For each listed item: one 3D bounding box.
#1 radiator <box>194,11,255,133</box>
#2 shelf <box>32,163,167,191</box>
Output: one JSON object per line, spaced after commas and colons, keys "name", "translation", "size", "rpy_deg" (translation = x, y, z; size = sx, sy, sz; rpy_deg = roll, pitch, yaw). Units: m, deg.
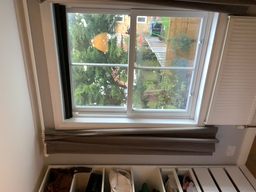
{"name": "radiator", "translation": [1.110, -0.170, 2.100], "size": [0.100, 0.670, 1.210], "rpy_deg": [-96, 8, -64]}
{"name": "shelf", "translation": [-0.300, 1.180, 2.420], "size": [0.510, 1.360, 0.590], "rpy_deg": [-97, 8, -66]}
